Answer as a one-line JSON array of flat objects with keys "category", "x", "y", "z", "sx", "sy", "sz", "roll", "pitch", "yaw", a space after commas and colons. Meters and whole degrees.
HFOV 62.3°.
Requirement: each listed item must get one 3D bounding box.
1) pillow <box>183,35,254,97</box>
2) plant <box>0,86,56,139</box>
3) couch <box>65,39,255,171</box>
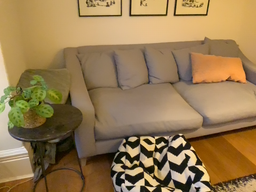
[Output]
[{"category": "pillow", "x": 1.000, "y": -0.310, "z": 2.330, "sx": 0.700, "sy": 0.370, "sz": 0.130, "roll": 27, "pitch": 19, "yaw": -22}, {"category": "plant", "x": -0.570, "y": 0.080, "z": 1.170, "sx": 0.310, "sy": 0.180, "sz": 0.220, "roll": -6, "pitch": 26, "yaw": -16}, {"category": "couch", "x": 0.500, "y": -0.090, "z": 2.210, "sx": 2.130, "sy": 0.750, "sz": 1.070, "roll": -6, "pitch": 26, "yaw": -16}]
